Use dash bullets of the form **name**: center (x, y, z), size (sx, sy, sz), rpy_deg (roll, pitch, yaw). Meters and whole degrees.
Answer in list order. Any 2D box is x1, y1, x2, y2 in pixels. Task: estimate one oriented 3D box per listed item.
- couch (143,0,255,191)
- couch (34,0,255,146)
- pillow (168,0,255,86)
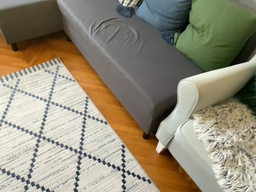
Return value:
- **couch**: center (0.730, 0.130, 1.000), size (0.830, 1.060, 0.820), rpy_deg (-25, 58, -25)
- **couch**: center (-0.110, -0.780, 1.810), size (0.820, 0.760, 2.120), rpy_deg (-25, 58, -25)
- **pillow**: center (0.540, -0.380, 1.380), size (0.250, 0.450, 0.440), rpy_deg (-42, 60, 0)
